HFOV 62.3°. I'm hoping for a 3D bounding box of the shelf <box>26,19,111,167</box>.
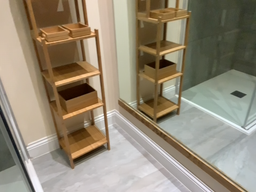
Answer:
[{"bbox_3d":[-0.390,0.000,1.550,0.360,0.990,0.300,-20,35,-28],"label":"shelf"}]
